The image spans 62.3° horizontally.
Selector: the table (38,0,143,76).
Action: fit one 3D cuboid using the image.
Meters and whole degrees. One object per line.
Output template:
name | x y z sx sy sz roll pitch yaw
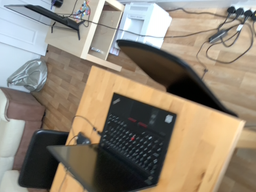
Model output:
table | -0.450 -0.690 2.170 1.040 0.440 0.610 30 101 45
